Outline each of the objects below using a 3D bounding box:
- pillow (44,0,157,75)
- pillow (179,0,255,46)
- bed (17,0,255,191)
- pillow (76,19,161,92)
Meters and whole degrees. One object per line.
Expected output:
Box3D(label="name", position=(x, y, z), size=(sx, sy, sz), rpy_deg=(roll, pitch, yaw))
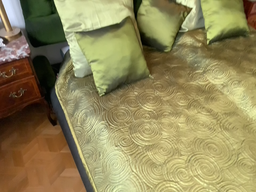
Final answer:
Box3D(label="pillow", position=(-0.180, -0.520, 1.460), size=(0.660, 0.590, 0.250), rpy_deg=(-22, 64, -24))
Box3D(label="pillow", position=(0.730, -0.640, 1.750), size=(0.390, 0.430, 0.250), rpy_deg=(-5, 72, -21))
Box3D(label="bed", position=(0.700, 0.020, 1.190), size=(1.940, 0.950, 2.270), rpy_deg=(-20, 50, -21))
Box3D(label="pillow", position=(-0.060, -0.280, 1.400), size=(0.440, 0.250, 0.280), rpy_deg=(-25, 52, -24))
